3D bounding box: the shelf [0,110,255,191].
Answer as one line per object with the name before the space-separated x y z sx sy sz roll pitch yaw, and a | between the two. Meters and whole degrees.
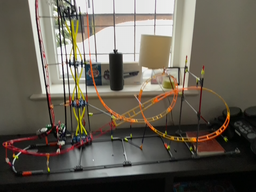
shelf | -0.020 0.540 1.200 2.100 0.660 0.530 -3 21 -6
